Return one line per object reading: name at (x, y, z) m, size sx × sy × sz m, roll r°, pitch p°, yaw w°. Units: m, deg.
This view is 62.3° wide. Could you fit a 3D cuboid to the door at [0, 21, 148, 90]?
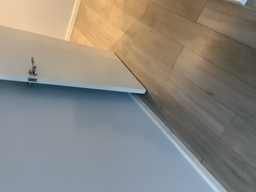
door at (-0.800, -0.380, 1.610) m, size 0.790 × 2.040 × 0.030 m, roll 51°, pitch 124°, yaw 41°
